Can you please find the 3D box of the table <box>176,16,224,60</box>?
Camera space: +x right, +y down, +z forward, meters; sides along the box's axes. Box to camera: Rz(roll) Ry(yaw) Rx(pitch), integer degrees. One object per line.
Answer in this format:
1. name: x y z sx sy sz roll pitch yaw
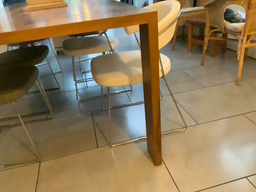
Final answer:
1. table: 0.870 -0.730 2.620 0.340 0.420 0.410 -23 34 -29
